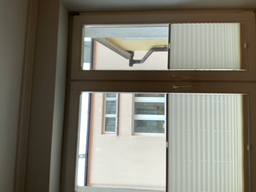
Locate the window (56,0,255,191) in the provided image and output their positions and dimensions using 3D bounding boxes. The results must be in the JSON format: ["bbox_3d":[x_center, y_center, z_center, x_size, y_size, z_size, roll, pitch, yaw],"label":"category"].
[{"bbox_3d":[0.240,0.060,1.530,0.170,1.440,1.510,46,-135,-84],"label":"window"}]
